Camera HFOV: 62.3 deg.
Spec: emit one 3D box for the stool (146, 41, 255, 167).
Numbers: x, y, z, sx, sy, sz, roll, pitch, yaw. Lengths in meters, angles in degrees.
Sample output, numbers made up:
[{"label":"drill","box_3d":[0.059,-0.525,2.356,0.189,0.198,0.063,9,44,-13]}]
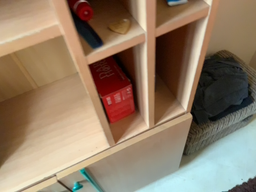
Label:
[{"label":"stool","box_3d":[0.410,0.050,1.170,0.490,0.420,0.370,-24,55,-10]}]
